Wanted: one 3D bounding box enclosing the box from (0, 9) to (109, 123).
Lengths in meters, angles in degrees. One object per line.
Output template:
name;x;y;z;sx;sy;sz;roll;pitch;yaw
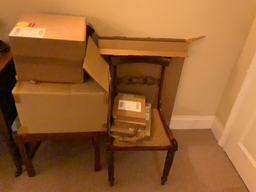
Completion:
box;-0.380;-0.190;1.320;0.510;0.540;0.470;1;36;-5
